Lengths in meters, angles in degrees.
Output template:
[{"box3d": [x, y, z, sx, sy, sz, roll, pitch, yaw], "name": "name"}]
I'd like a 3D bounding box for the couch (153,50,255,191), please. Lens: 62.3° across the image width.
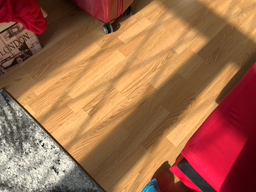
[{"box3d": [0.560, 0.180, 0.870, 0.500, 0.350, 0.730, 42, 69, 12], "name": "couch"}]
